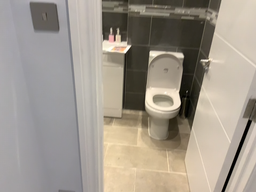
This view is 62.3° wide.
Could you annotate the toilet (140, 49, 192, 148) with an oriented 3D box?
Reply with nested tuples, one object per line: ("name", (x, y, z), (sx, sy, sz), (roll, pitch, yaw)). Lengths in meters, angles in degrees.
("toilet", (0.370, 0.010, 2.270), (0.370, 0.840, 0.610), (6, 29, 4))
